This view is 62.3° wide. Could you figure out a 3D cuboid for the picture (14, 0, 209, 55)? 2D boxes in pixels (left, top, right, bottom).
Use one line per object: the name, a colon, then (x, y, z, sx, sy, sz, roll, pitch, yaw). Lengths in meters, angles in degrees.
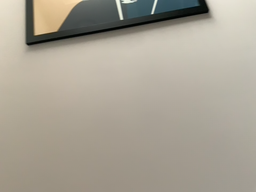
picture: (-0.120, -0.550, 0.960, 0.030, 0.770, 0.680, 81, 179, -69)
